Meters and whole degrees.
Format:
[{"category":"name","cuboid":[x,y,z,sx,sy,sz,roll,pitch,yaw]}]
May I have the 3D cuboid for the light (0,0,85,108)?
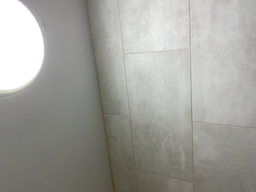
[{"category":"light","cuboid":[-0.350,-0.150,0.610,0.410,0.330,0.100,9,-5,-38]}]
